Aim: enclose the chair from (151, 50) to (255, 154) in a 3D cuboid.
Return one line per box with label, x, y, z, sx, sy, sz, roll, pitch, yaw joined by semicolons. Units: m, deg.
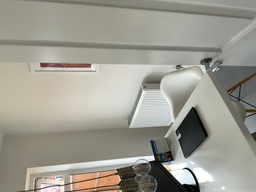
chair;0.710;0.050;1.820;0.600;0.760;0.600;106;157;-47
